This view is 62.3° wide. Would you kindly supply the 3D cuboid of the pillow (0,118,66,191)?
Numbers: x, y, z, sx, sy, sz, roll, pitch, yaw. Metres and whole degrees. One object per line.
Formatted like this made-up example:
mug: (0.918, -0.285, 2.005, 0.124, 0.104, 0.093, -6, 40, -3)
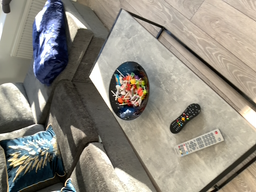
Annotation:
pillow: (-0.810, 0.490, 1.780, 0.480, 0.420, 0.200, 56, 151, 33)
